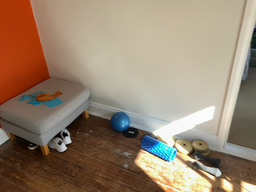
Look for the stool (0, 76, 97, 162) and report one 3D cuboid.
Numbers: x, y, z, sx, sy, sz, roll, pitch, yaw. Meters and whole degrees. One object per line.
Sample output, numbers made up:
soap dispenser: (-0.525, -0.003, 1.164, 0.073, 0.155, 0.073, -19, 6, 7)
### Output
stool: (-0.910, 0.190, 2.430, 0.700, 0.410, 0.860, 12, 35, 24)
